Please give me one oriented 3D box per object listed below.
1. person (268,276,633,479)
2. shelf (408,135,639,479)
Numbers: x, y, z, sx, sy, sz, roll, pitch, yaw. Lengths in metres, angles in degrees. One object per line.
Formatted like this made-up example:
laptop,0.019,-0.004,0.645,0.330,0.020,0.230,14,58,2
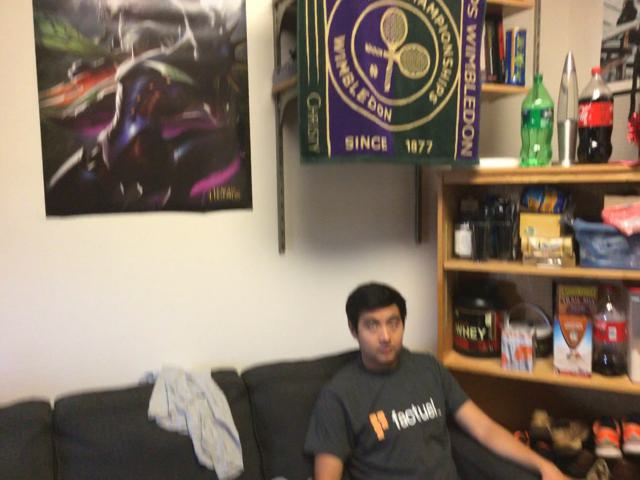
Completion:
person,0.300,0.750,1.680,0.580,1.130,0.900,-5,6,-24
shelf,0.920,0.440,2.100,0.800,1.540,0.880,-5,6,-23
